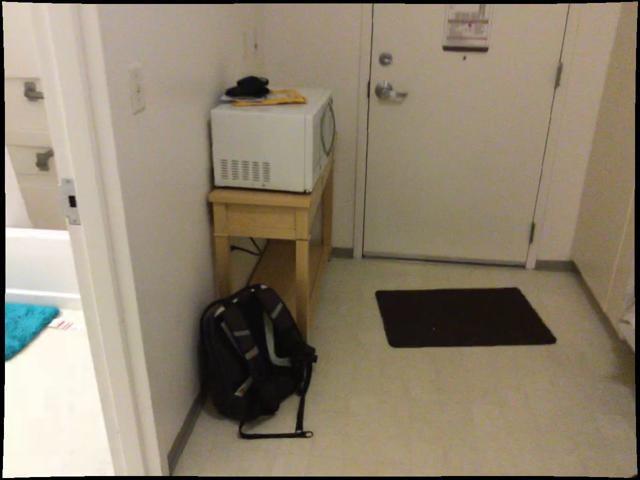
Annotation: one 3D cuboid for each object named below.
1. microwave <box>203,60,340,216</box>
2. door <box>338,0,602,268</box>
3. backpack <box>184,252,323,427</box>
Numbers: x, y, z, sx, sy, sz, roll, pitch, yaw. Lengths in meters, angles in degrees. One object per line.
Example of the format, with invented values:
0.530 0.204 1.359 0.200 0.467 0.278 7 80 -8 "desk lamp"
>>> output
-0.160 -0.440 2.330 0.410 0.440 0.660 4 25 5 "microwave"
0.689 -0.861 2.780 1.119 2.092 0.120 4 25 5 "door"
-0.220 0.350 2.150 0.400 0.420 0.460 4 25 5 "backpack"
